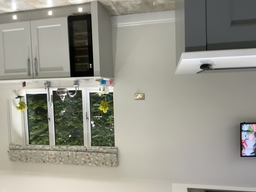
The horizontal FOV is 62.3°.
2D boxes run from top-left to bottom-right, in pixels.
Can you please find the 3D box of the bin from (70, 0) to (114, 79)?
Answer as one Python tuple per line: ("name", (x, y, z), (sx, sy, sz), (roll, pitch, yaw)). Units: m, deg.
("bin", (-0.440, -0.720, 2.750), (0.370, 0.970, 0.570), (-1, -177, 9))
